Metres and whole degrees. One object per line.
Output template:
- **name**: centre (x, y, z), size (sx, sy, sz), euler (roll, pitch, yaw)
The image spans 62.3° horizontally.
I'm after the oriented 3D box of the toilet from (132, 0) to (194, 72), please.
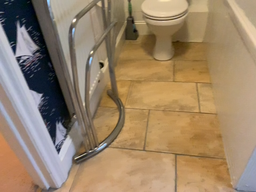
- **toilet**: centre (0.300, -0.730, 1.810), size (0.420, 0.790, 0.660), euler (3, 40, 9)
